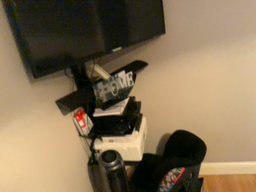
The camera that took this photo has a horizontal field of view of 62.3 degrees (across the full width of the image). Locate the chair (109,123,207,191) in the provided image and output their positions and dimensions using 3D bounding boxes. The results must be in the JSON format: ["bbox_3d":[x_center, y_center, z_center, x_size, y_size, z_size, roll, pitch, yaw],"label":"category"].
[{"bbox_3d":[0.270,0.580,1.630,0.600,0.580,0.430,-1,24,23],"label":"chair"}]
